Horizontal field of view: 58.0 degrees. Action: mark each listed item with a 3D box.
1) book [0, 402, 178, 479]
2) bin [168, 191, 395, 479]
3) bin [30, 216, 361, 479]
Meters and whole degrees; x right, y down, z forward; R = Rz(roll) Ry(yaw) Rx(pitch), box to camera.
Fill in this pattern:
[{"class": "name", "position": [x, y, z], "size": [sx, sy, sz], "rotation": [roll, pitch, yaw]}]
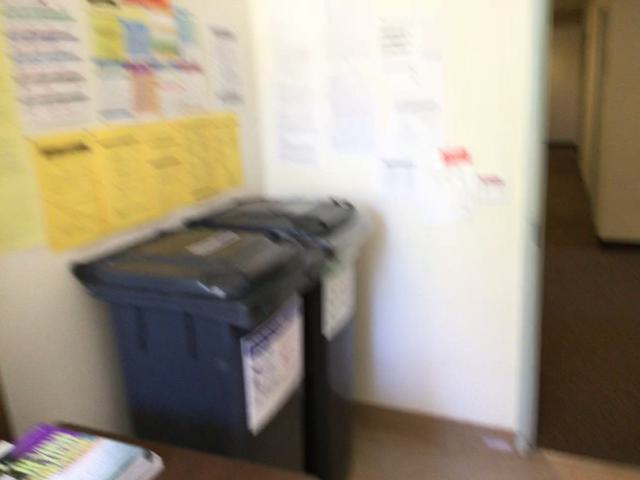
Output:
[{"class": "book", "position": [-0.470, 0.410, 1.070], "size": [0.310, 0.060, 0.250], "rotation": [0, 17, 23]}, {"class": "bin", "position": [-0.090, 0.400, 2.020], "size": [0.520, 1.050, 0.440], "rotation": [0, 17, 23]}, {"class": "bin", "position": [-0.260, 0.530, 1.630], "size": [0.540, 1.080, 0.560], "rotation": [0, 17, 23]}]
